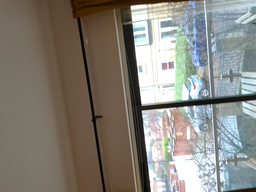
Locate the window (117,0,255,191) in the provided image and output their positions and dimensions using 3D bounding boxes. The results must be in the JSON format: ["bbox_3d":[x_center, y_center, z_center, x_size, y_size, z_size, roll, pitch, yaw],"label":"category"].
[{"bbox_3d":[1.050,0.010,1.660,0.190,2.080,1.670,-60,-36,-79],"label":"window"}]
